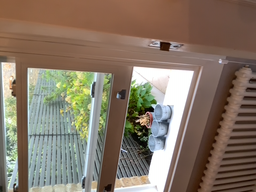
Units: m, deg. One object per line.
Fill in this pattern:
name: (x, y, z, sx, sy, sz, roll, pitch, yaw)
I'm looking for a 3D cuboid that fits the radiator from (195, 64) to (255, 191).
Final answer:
radiator: (0.720, 0.280, 1.260, 0.070, 0.510, 0.890, -132, 48, -62)
